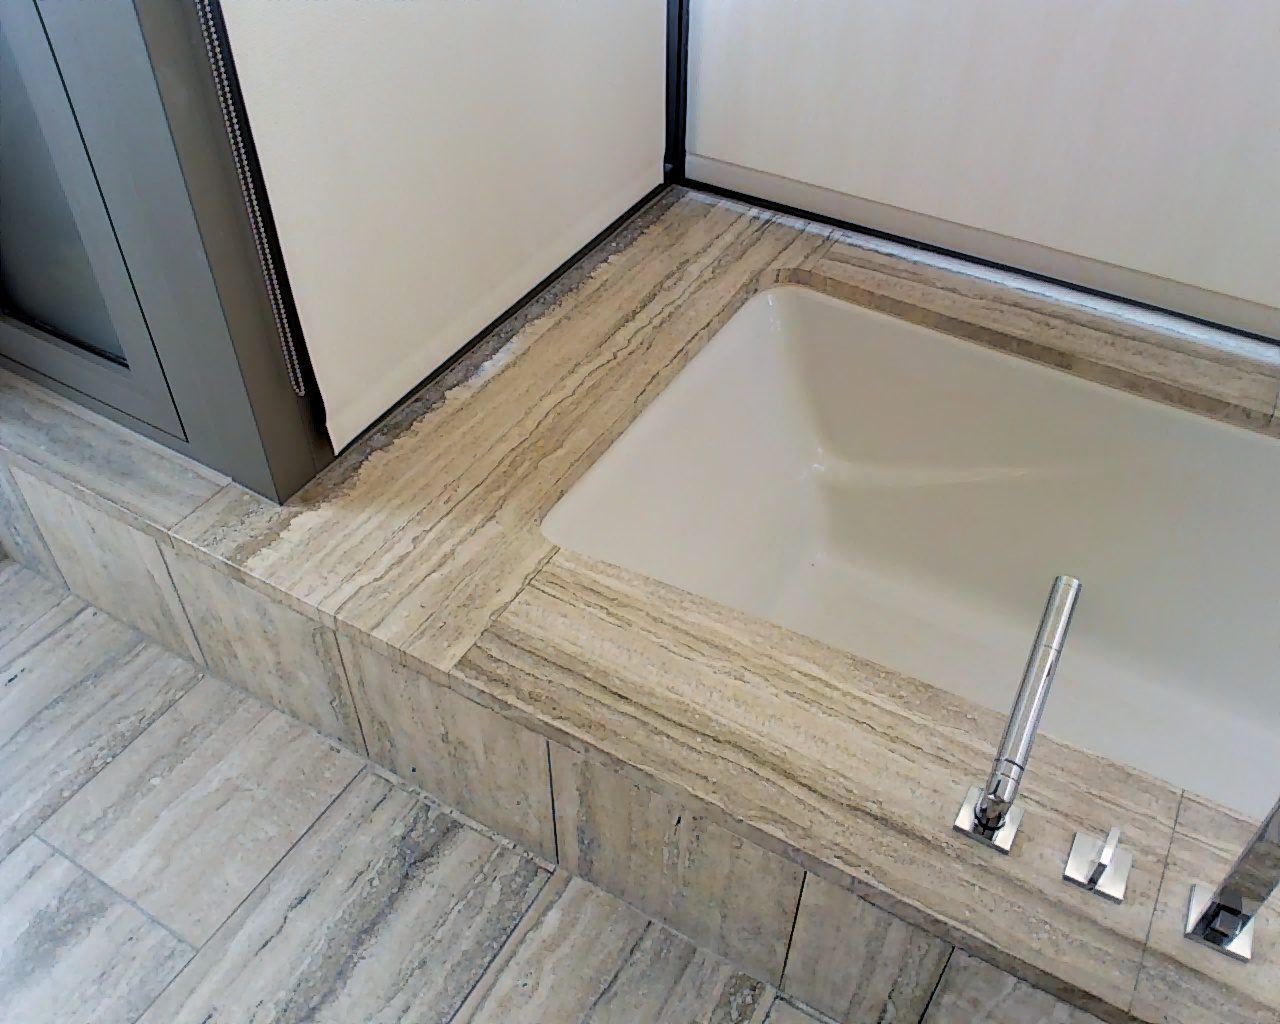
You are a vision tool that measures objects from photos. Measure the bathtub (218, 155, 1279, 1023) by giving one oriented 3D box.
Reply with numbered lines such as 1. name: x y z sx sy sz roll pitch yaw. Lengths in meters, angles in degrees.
1. bathtub: 0.750 0.280 1.450 2.190 0.640 1.180 21 46 21
